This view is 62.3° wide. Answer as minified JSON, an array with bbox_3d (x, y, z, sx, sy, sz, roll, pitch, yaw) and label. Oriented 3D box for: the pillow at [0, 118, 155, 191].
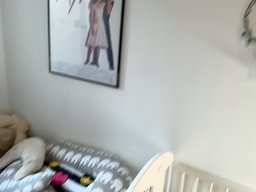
[{"bbox_3d":[-0.490,0.500,1.340,1.110,0.280,0.680,13,18,28],"label":"pillow"}]
